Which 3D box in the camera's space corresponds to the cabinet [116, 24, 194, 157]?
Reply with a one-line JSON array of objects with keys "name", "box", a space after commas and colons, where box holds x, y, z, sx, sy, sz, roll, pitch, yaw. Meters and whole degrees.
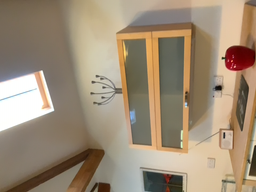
[{"name": "cabinet", "box": [0.310, -0.030, 2.130, 0.390, 0.620, 1.240, -62, -31, -58]}]
